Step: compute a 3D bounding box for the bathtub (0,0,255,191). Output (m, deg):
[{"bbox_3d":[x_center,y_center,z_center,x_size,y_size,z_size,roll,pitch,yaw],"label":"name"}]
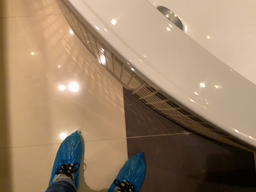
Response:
[{"bbox_3d":[0.290,-0.420,0.740,1.370,0.610,1.390,-5,87,-4],"label":"bathtub"}]
